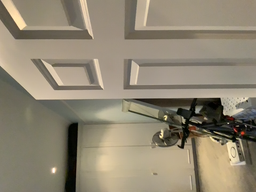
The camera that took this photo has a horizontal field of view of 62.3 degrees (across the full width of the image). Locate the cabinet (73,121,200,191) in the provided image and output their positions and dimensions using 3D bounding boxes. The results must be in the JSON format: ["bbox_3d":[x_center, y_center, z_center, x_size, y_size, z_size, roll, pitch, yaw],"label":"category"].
[{"bbox_3d":[0.160,1.350,4.510,0.350,2.500,1.530,99,170,-74],"label":"cabinet"}]

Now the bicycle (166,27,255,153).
[{"bbox_3d":[1.030,0.170,1.950,1.780,0.930,0.650,100,170,-74],"label":"bicycle"}]
